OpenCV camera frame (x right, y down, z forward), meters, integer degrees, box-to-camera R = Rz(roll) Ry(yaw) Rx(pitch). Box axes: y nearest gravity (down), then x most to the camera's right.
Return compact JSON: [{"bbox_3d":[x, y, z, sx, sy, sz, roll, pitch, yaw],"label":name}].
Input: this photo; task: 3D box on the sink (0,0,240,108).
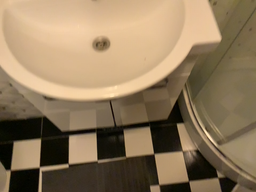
[{"bbox_3d":[-0.090,-0.210,0.650,0.660,0.210,0.400,-4,66,-2],"label":"sink"}]
